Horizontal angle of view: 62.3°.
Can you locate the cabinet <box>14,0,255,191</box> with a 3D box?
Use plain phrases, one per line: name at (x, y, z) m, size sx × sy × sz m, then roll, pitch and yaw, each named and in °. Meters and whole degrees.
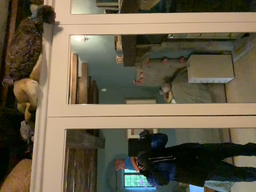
cabinet at (0.560, -0.120, 1.560) m, size 0.710 × 2.270 × 1.730 m, roll 87°, pitch -177°, yaw -78°
